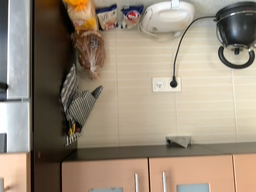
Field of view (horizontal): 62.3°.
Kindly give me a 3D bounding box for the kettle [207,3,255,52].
[{"bbox_3d":[0.520,-0.320,1.020,0.190,0.160,0.200,-1,175,-3],"label":"kettle"}]
